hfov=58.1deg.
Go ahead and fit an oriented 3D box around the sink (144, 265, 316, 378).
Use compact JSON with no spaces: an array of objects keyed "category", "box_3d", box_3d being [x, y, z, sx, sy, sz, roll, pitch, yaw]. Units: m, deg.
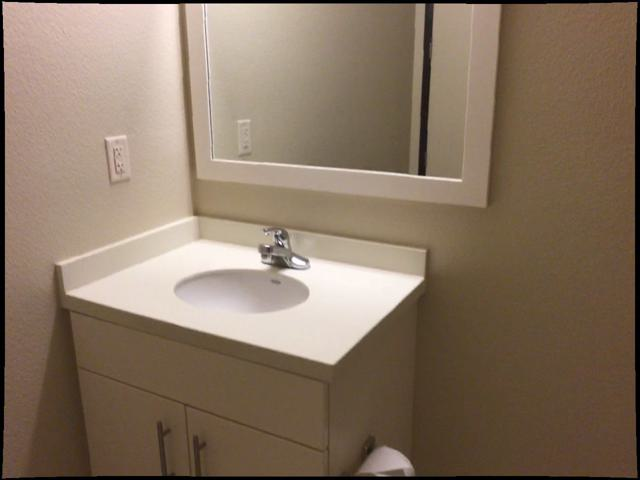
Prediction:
[{"category":"sink","box_3d":[-0.229,0.201,1.540,0.329,0.130,0.310,8,19,26]}]
